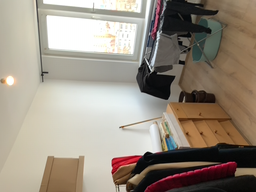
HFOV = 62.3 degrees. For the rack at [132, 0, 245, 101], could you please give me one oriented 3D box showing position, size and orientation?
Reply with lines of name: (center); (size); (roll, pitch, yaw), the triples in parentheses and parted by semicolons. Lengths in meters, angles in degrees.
rack: (0.730, -0.860, 2.920); (0.630, 1.040, 1.800); (-102, 18, -55)
